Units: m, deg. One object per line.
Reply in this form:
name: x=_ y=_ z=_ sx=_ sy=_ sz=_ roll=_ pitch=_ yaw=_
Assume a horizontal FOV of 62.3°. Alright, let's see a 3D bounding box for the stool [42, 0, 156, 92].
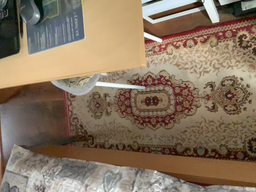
stool: x=-0.110 y=-0.190 z=1.030 sx=0.330 sy=0.450 sz=0.320 roll=-2 pitch=91 yaw=30
